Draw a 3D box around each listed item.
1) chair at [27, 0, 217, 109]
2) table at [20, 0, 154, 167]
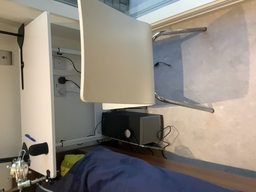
[{"bbox_3d":[0.030,-0.150,1.080,0.460,0.870,0.380,-7,85,45],"label":"chair"},{"bbox_3d":[-0.240,-0.060,1.430,0.410,0.770,0.810,-3,88,45],"label":"table"}]
